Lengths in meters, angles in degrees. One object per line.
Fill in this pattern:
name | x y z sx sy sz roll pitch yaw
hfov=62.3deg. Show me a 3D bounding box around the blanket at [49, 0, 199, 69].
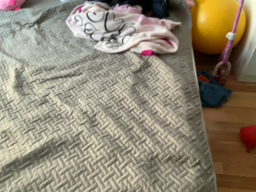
blanket | 0.000 -0.400 1.230 0.730 0.200 0.410 6 47 6
